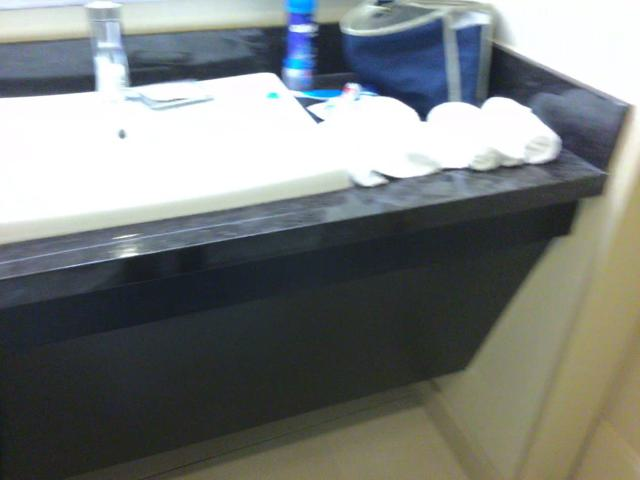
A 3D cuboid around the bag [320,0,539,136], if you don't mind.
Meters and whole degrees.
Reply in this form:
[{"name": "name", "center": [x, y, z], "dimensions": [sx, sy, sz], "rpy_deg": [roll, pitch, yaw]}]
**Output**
[{"name": "bag", "center": [0.180, -0.340, 1.050], "dimensions": [0.290, 0.190, 0.240], "rpy_deg": [-10, 35, -18]}]
